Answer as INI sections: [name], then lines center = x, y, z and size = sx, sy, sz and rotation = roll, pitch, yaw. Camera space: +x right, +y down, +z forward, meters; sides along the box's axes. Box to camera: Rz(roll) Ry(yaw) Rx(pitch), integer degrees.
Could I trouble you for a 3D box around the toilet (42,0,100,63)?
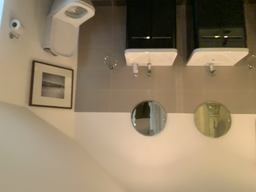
[toilet]
center = -0.690, -0.930, 2.590
size = 0.390, 0.850, 0.630
rotation = 10, 167, -41
